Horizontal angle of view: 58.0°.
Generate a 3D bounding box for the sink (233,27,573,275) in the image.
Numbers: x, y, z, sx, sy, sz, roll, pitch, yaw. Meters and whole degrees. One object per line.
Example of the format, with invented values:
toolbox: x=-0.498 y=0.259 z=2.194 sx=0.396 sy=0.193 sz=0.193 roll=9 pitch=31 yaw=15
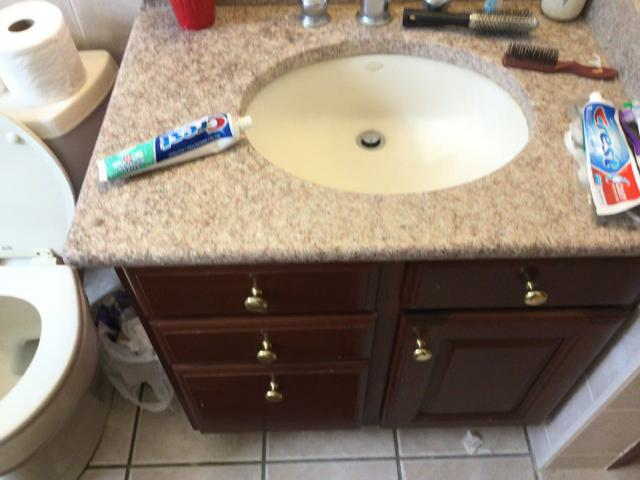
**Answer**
sink: x=0.100 y=-0.150 z=0.910 sx=0.430 sy=0.180 sz=0.360 roll=-1 pitch=52 yaw=-1
